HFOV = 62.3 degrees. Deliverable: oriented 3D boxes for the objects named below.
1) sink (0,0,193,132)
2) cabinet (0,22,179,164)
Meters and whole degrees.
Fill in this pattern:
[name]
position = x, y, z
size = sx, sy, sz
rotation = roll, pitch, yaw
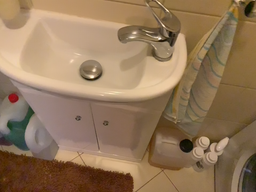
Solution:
[sink]
position = -0.110, -0.080, 0.560
size = 0.520, 0.140, 0.220
rotation = 10, 60, 1
[cabinet]
position = -0.120, 0.080, 0.900
size = 0.460, 0.750, 0.160
rotation = 10, 60, 1
